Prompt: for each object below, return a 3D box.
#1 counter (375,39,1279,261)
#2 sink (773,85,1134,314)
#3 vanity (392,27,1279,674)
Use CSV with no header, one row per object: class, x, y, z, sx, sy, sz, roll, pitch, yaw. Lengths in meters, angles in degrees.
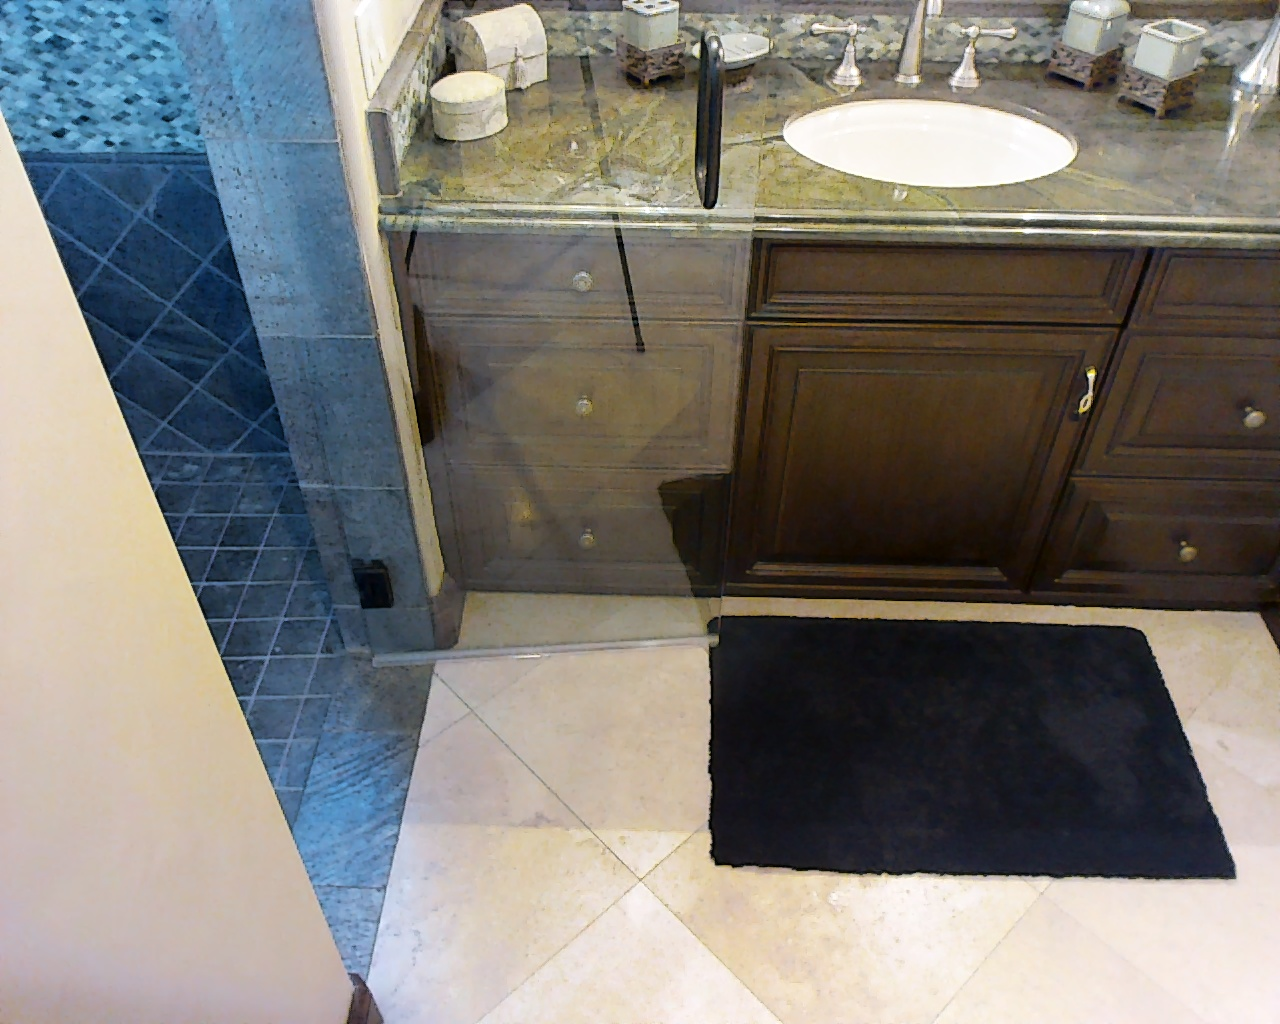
counter,0.470,-0.590,1.690,1.640,0.060,0.630,2,42,1
sink,0.480,-0.520,1.760,0.480,0.220,0.350,2,42,1
vanity,0.470,-0.260,1.970,1.620,0.970,0.550,2,42,0
